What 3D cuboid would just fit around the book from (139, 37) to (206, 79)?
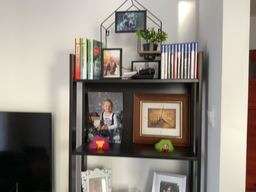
[{"bbox_3d":[0.220,-0.190,1.120,0.310,0.190,0.200,1,2,5],"label":"book"}]
